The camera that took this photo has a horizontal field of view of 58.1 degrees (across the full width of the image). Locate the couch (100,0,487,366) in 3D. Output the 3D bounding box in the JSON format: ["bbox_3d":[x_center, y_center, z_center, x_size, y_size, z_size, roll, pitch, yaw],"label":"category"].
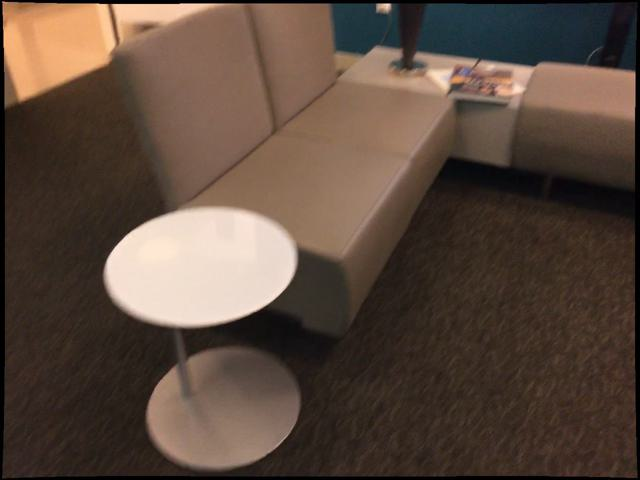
[{"bbox_3d":[0.050,-0.381,1.880,0.718,0.761,1.211,13,38,16],"label":"couch"}]
